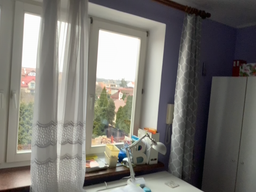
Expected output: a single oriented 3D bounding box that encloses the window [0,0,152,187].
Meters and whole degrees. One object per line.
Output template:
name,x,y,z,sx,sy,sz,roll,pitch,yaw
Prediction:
window,-0.720,-0.050,1.900,2.090,1.580,0.140,3,3,-31
